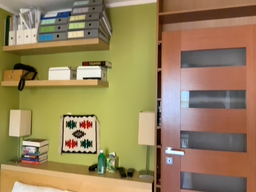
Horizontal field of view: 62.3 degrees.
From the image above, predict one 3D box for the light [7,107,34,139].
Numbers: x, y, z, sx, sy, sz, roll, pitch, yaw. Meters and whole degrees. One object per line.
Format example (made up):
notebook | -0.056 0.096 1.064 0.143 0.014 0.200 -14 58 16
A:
light | -1.180 0.290 2.330 0.190 0.320 0.160 1 -2 14
